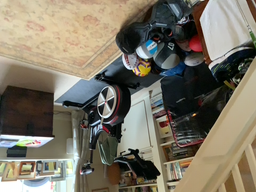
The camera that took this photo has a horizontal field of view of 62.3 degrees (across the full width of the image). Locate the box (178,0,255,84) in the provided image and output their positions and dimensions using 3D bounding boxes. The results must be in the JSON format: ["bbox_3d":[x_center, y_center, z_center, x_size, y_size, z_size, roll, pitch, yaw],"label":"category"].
[{"bbox_3d":[0.770,-0.500,1.610,0.390,0.590,0.550,7,154,-30],"label":"box"}]
